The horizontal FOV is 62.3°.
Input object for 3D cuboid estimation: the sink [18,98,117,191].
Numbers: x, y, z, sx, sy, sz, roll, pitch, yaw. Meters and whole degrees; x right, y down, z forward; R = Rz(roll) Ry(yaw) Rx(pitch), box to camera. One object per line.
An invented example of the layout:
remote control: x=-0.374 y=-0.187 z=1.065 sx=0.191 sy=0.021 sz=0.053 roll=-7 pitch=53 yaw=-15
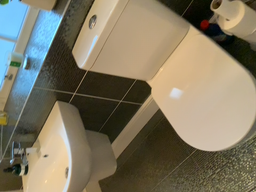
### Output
sink: x=-0.400 y=0.430 z=1.210 sx=0.680 sy=0.190 sz=0.470 roll=-54 pitch=48 yaw=27
